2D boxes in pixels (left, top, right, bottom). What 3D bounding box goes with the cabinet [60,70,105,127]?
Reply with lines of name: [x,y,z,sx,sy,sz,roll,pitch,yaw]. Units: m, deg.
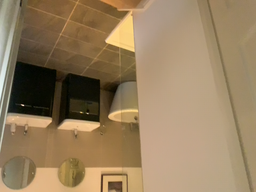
cabinet: [-0.780,0.070,3.690,0.600,0.790,0.460,11,155,-30]

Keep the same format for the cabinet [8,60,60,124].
cabinet: [-1.450,-0.040,3.300,0.580,0.810,0.440,11,155,-30]
